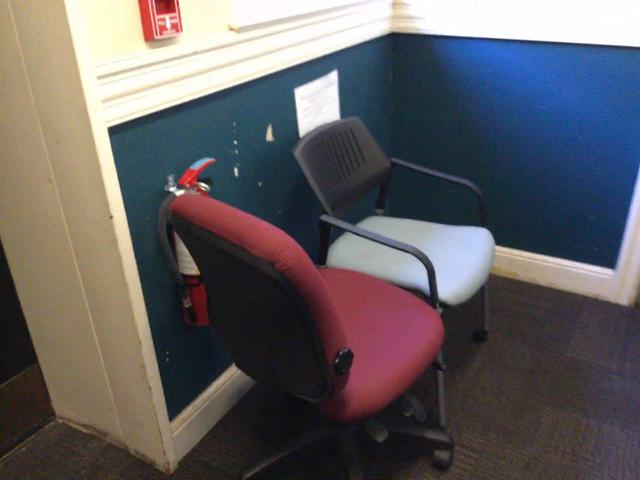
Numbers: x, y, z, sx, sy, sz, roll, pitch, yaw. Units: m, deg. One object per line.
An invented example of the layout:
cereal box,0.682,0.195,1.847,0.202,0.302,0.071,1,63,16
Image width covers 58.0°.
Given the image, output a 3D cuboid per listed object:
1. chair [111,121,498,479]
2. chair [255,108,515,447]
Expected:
chair,-0.010,0.260,1.450,0.550,0.910,0.630,22,35,40
chair,0.230,0.070,1.870,0.580,0.820,0.590,11,29,25
